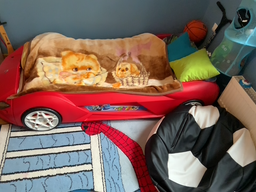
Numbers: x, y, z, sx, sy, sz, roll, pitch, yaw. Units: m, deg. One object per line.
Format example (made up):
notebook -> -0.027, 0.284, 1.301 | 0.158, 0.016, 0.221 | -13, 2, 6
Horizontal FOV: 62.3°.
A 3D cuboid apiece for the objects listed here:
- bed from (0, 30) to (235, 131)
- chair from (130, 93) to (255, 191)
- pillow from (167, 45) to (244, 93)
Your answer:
bed -> -0.170, -0.210, 2.040 | 2.090, 0.290, 0.940 | -2, 48, -15
chair -> 0.500, 0.430, 1.540 | 0.760, 0.330, 0.890 | -2, 48, -15
pillow -> 0.670, -0.250, 1.900 | 0.490, 0.240, 0.360 | -3, 48, -16
